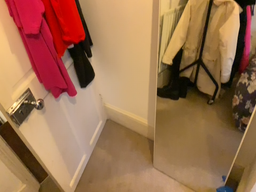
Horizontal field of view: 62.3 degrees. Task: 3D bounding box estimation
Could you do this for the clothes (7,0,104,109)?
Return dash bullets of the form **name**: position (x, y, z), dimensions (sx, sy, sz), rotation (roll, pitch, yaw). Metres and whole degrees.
- **clothes**: position (-0.320, -0.430, 0.900), dimensions (0.170, 1.030, 0.340), rotation (4, 44, 13)
